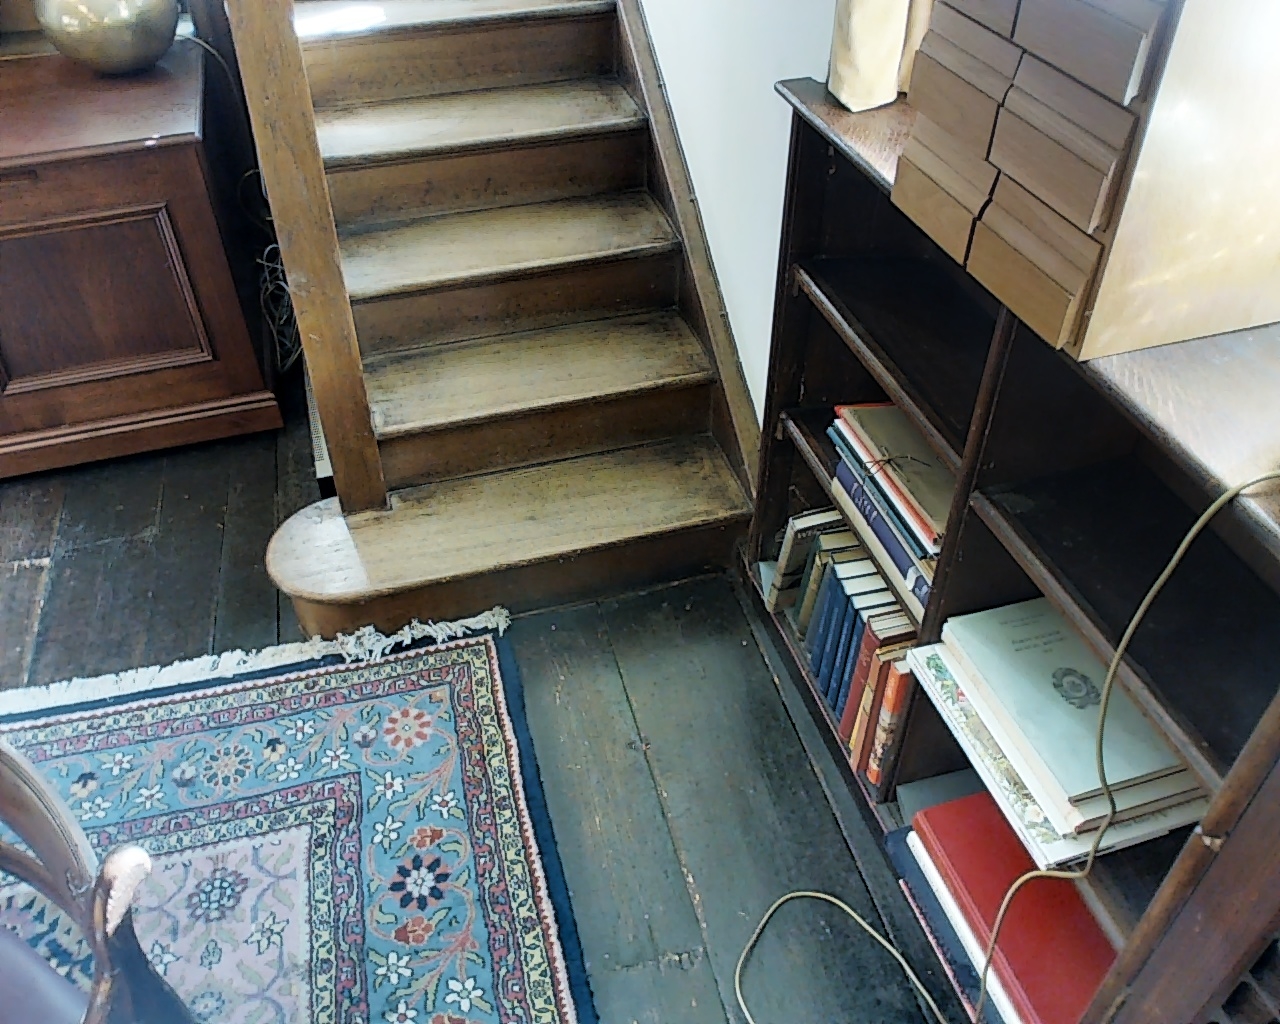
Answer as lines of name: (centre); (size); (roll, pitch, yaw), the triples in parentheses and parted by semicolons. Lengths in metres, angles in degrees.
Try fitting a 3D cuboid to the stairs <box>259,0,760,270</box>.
stairs: (-0.310, -0.780, 2.250); (0.670, 0.270, 1.440); (-22, 14, -6)
